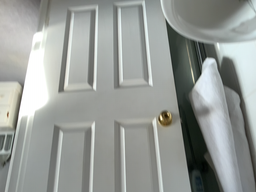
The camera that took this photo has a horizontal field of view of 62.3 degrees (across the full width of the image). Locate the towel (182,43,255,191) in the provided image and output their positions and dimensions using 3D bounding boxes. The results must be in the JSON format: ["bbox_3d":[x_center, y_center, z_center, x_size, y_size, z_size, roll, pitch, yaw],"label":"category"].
[{"bbox_3d":[0.450,0.280,0.970,0.180,1.080,0.260,-2,155,-1],"label":"towel"}]
